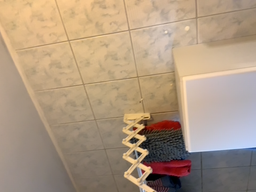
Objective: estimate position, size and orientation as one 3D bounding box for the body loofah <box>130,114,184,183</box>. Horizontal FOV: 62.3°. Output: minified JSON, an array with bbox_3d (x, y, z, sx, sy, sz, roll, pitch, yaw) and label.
[{"bbox_3d":[0.140,0.250,1.010,0.170,0.210,0.260,-80,-19,-60],"label":"body loofah"}]
